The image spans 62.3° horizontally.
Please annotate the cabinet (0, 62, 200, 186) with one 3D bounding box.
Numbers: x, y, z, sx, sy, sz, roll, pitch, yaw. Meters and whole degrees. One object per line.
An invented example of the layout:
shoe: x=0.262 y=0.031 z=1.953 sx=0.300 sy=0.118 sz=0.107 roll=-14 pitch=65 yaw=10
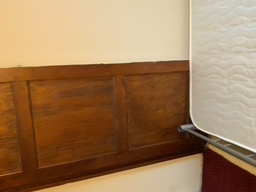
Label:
cabinet: x=-0.280 y=0.140 z=1.300 sx=0.030 sy=1.740 sz=0.630 roll=-159 pitch=66 yaw=-67
